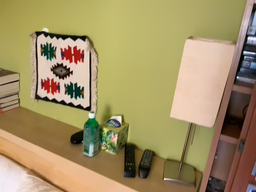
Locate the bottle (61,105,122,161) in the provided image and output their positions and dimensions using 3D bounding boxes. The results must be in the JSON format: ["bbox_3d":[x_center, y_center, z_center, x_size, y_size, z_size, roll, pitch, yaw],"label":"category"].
[{"bbox_3d":[-0.180,0.170,1.060,0.230,0.160,0.180,15,20,25],"label":"bottle"}]
